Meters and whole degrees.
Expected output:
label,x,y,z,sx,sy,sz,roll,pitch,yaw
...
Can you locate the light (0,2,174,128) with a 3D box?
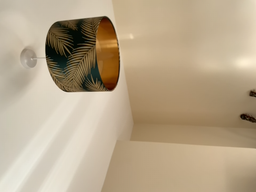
label,x,y,z,sx,sy,sz,roll,pitch,yaw
light,-0.210,-0.210,1.210,0.840,0.410,0.490,9,-58,9
